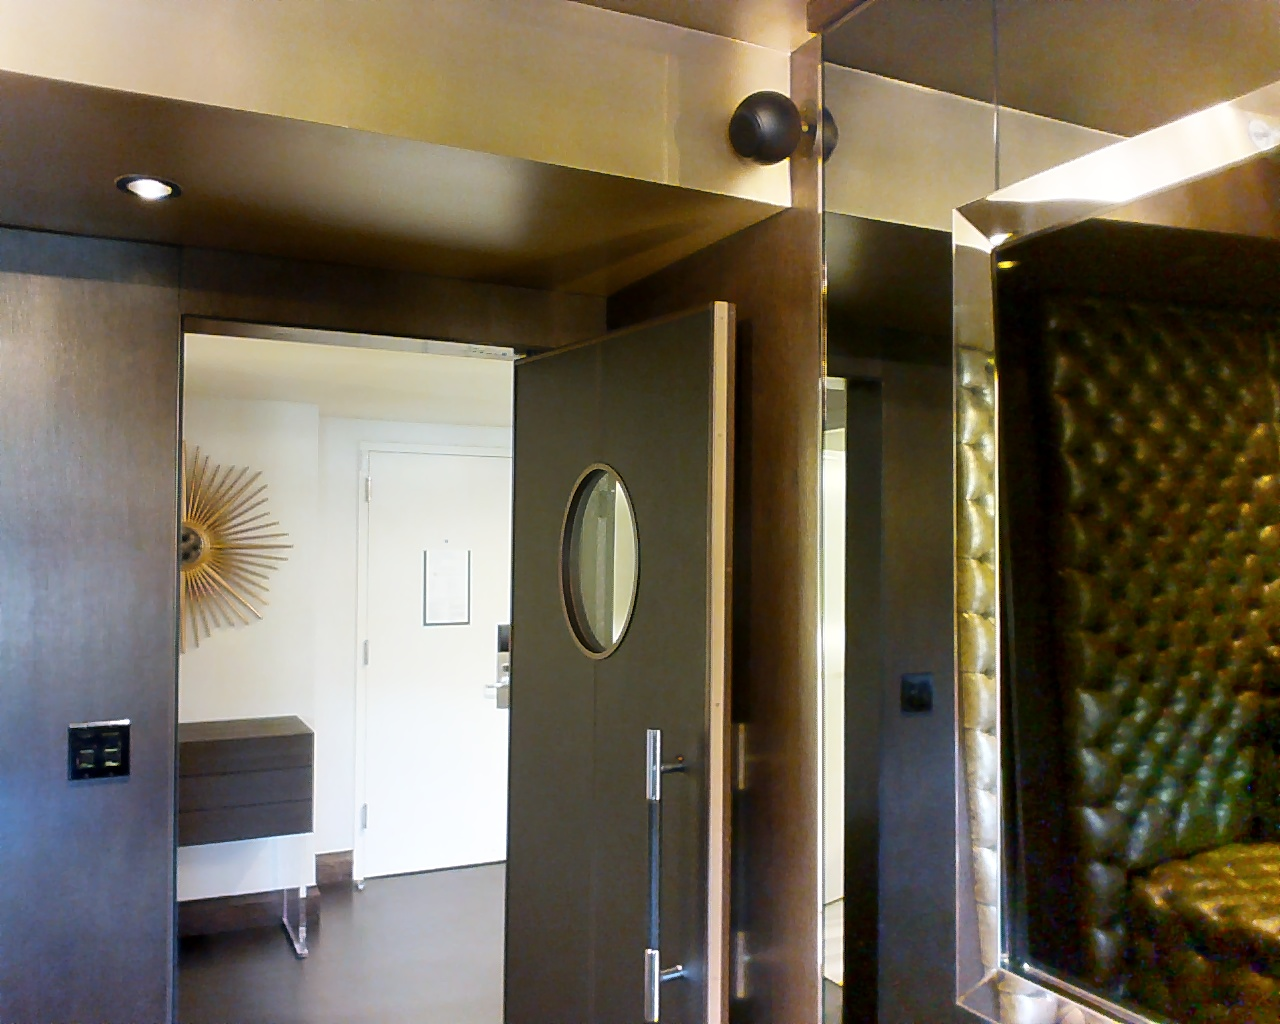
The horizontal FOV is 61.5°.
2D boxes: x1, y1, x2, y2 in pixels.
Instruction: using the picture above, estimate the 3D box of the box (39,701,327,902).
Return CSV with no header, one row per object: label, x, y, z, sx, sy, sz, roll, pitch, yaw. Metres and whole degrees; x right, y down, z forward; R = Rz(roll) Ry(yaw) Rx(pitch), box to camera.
box,-1.740,1.070,4.130,0.950,0.570,0.500,2,-2,-26
